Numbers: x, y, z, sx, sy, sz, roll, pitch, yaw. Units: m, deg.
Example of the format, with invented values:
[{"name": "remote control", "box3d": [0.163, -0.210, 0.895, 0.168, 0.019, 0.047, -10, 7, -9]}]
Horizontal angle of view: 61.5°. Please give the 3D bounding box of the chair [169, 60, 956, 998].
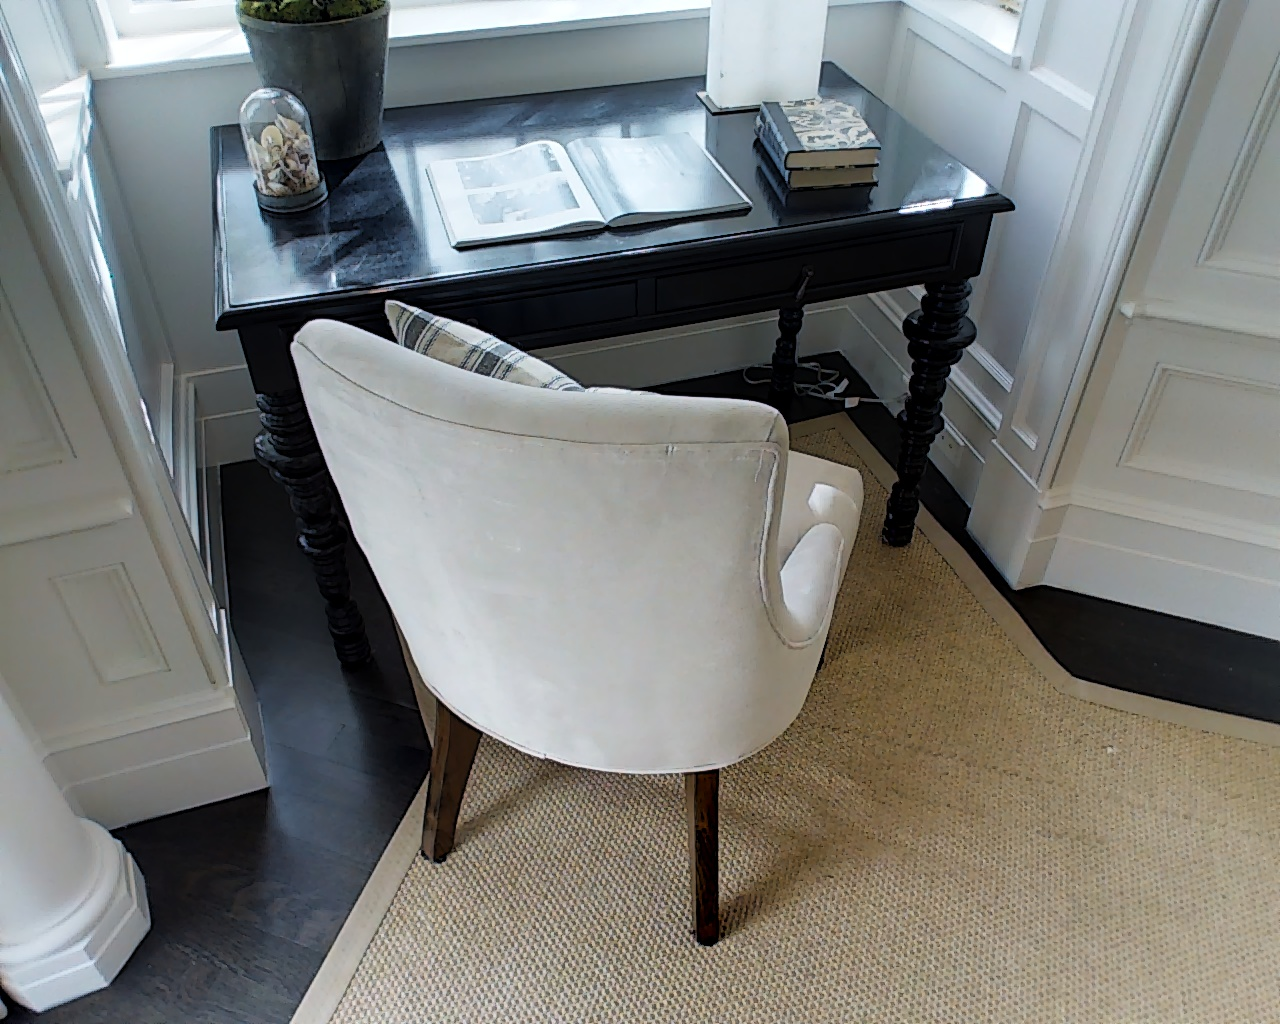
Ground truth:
[{"name": "chair", "box3d": [-0.030, 0.020, 1.570, 0.660, 1.000, 0.750, 14, 44, 14]}]
